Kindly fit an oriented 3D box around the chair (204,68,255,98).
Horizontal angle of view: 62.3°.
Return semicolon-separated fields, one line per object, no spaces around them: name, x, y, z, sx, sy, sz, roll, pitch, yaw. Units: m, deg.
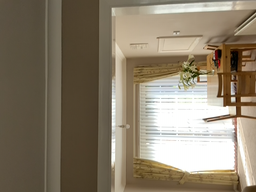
chair;1.620;-0.170;3.140;0.460;0.830;0.400;20;-110;-83

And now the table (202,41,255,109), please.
table;1.710;-0.290;3.480;0.960;0.750;0.960;15;-105;-83

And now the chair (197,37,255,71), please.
chair;1.640;-0.680;3.490;0.350;0.890;0.460;15;-105;-83
